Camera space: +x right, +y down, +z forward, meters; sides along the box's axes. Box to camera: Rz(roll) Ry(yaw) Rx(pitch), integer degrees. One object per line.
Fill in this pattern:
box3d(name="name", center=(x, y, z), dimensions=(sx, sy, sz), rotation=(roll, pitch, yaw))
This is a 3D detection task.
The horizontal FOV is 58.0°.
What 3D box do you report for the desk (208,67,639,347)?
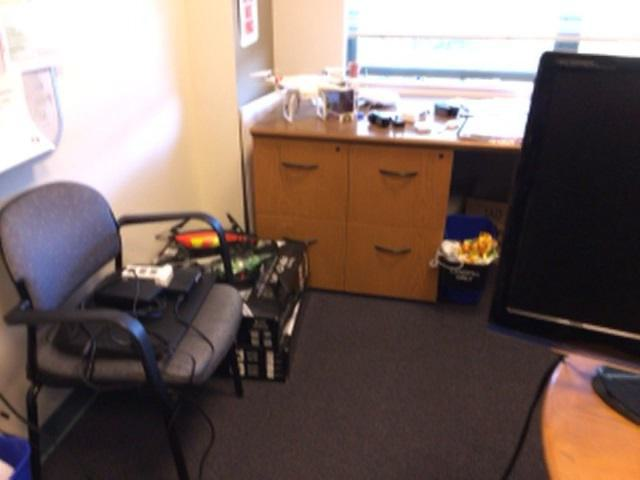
box3d(name="desk", center=(0.730, -0.200, 2.420), dimensions=(2.160, 0.860, 0.820), rotation=(5, 23, 9))
